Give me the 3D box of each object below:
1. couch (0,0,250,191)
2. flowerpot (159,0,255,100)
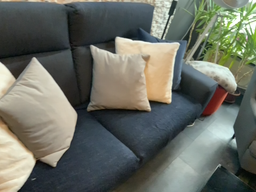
[{"bbox_3d":[-0.250,0.010,1.430,1.030,0.990,2.370,37,38,26],"label":"couch"},{"bbox_3d":[1.180,-0.880,2.990,0.690,1.610,0.740,35,38,24],"label":"flowerpot"}]
